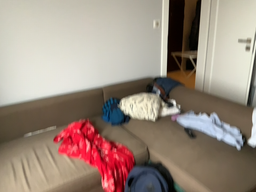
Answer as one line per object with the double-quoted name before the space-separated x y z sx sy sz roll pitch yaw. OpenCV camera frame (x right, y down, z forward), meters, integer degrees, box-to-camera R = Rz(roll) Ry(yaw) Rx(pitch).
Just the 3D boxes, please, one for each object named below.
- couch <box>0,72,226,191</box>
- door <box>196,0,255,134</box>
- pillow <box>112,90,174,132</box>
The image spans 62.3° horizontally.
"couch" -0.350 0.400 1.900 2.440 0.720 0.930 -13 22 -29
"door" 1.260 -0.620 2.690 0.100 2.000 0.910 -8 20 -17
"pillow" 0.150 0.130 2.230 0.450 0.210 0.460 -14 23 -31
